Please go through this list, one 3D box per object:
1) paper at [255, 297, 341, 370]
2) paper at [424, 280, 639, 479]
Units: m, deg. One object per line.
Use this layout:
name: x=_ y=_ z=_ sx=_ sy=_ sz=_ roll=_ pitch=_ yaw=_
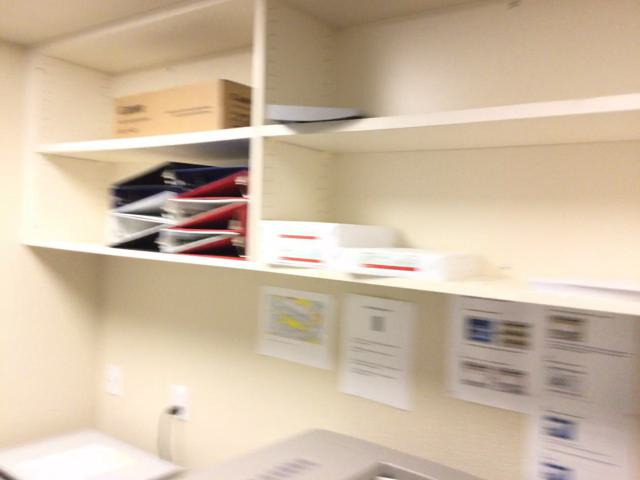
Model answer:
paper: x=-0.070 y=0.270 z=1.710 sx=0.290 sy=0.180 sz=0.030 roll=2 pitch=-5 yaw=38
paper: x=0.460 y=0.360 z=1.300 sx=0.440 sy=0.510 sz=0.050 roll=2 pitch=-5 yaw=38
